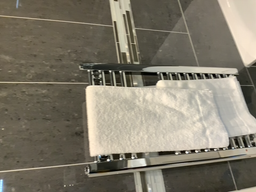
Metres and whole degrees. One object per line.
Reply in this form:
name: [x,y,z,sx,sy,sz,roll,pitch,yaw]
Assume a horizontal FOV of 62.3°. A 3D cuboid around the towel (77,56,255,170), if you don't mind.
towel: [0.210,0.050,0.800,0.130,0.760,0.340,123,143,-59]
